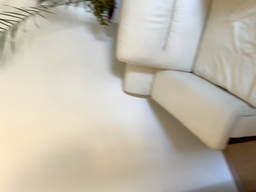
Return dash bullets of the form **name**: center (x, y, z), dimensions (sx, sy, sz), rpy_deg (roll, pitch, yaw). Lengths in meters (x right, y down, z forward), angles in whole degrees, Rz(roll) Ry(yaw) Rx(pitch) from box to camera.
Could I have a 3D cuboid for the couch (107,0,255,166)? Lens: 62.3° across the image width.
- **couch**: center (0.490, -0.350, 1.290), dimensions (0.910, 0.880, 1.020), rpy_deg (-132, 47, -56)
